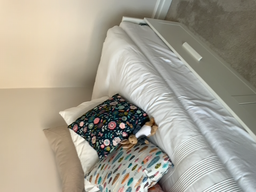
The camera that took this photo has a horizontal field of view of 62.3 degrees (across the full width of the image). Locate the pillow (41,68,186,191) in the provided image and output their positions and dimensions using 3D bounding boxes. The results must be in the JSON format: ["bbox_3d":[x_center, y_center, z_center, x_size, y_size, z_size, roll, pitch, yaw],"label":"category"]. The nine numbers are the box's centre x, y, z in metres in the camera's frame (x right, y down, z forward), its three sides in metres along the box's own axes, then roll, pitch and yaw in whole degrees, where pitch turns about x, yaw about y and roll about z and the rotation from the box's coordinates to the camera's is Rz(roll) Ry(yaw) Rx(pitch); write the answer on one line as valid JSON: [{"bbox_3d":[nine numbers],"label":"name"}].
[{"bbox_3d":[-0.150,0.500,1.160,1.290,0.460,0.680,60,142,41],"label":"pillow"}]
